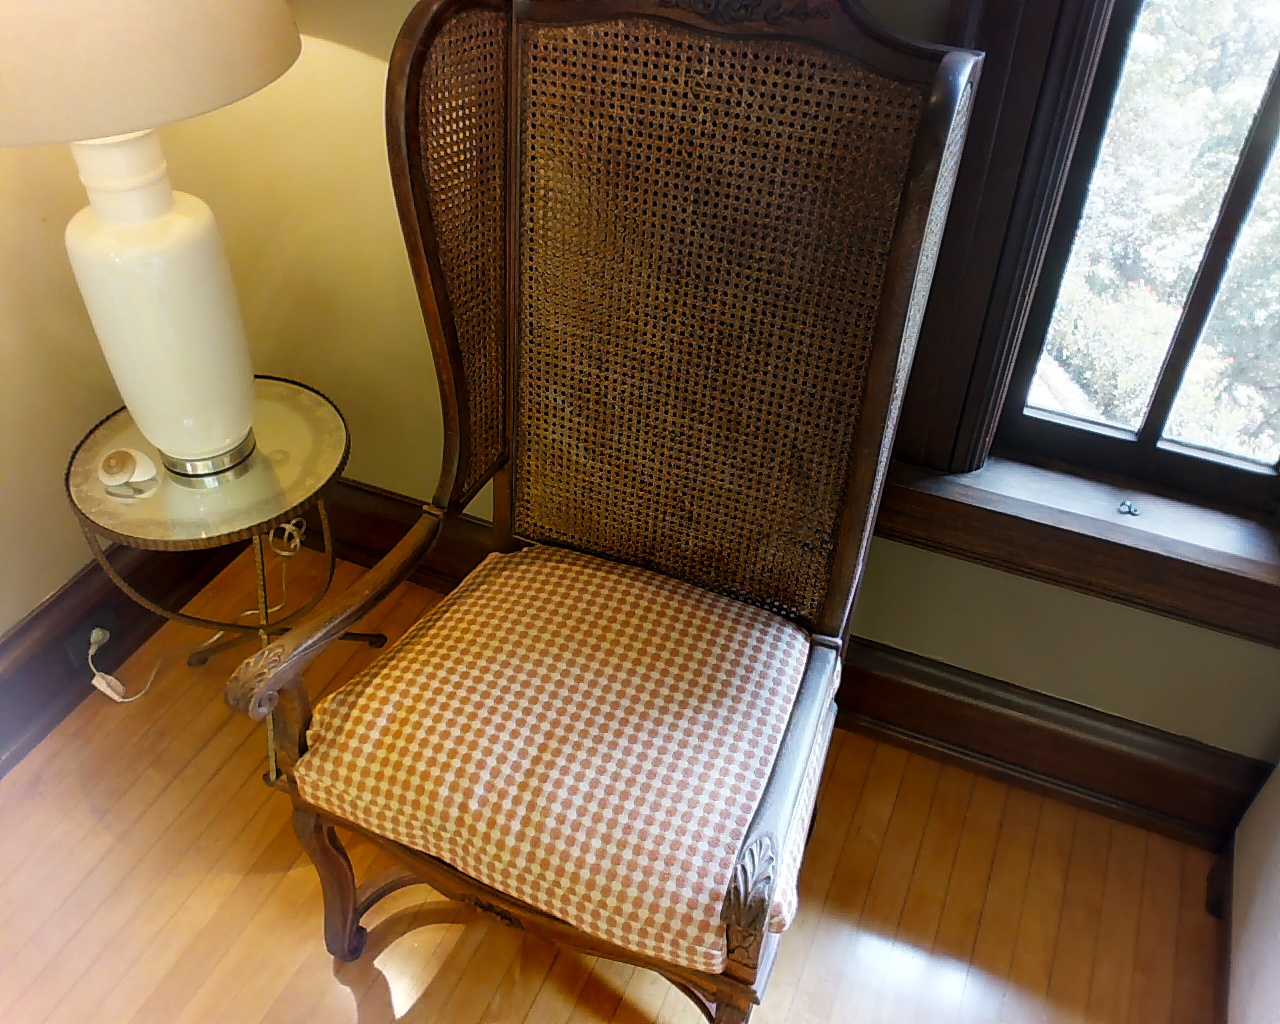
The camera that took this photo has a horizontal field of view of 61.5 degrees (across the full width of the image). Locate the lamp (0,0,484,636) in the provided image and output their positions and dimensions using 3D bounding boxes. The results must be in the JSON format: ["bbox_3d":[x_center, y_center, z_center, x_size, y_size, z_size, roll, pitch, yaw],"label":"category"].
[{"bbox_3d":[-0.620,-0.440,1.390,0.510,0.950,0.590,17,45,18],"label":"lamp"}]

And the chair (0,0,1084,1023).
[{"bbox_3d":[-0.030,0.040,1.370,0.730,1.290,0.780,17,45,18],"label":"chair"}]
